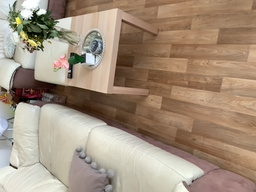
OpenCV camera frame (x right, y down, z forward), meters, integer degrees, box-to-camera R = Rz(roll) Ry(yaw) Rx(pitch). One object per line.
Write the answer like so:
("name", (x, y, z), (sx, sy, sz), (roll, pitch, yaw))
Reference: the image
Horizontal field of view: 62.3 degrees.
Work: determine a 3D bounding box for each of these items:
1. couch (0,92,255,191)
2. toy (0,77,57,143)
("couch", (-0.380, 0.640, 1.500), (2.130, 1.030, 1.020), (12, 96, 43))
("toy", (-1.450, 0.140, 2.910), (0.900, 0.470, 0.710), (10, 95, 43))
